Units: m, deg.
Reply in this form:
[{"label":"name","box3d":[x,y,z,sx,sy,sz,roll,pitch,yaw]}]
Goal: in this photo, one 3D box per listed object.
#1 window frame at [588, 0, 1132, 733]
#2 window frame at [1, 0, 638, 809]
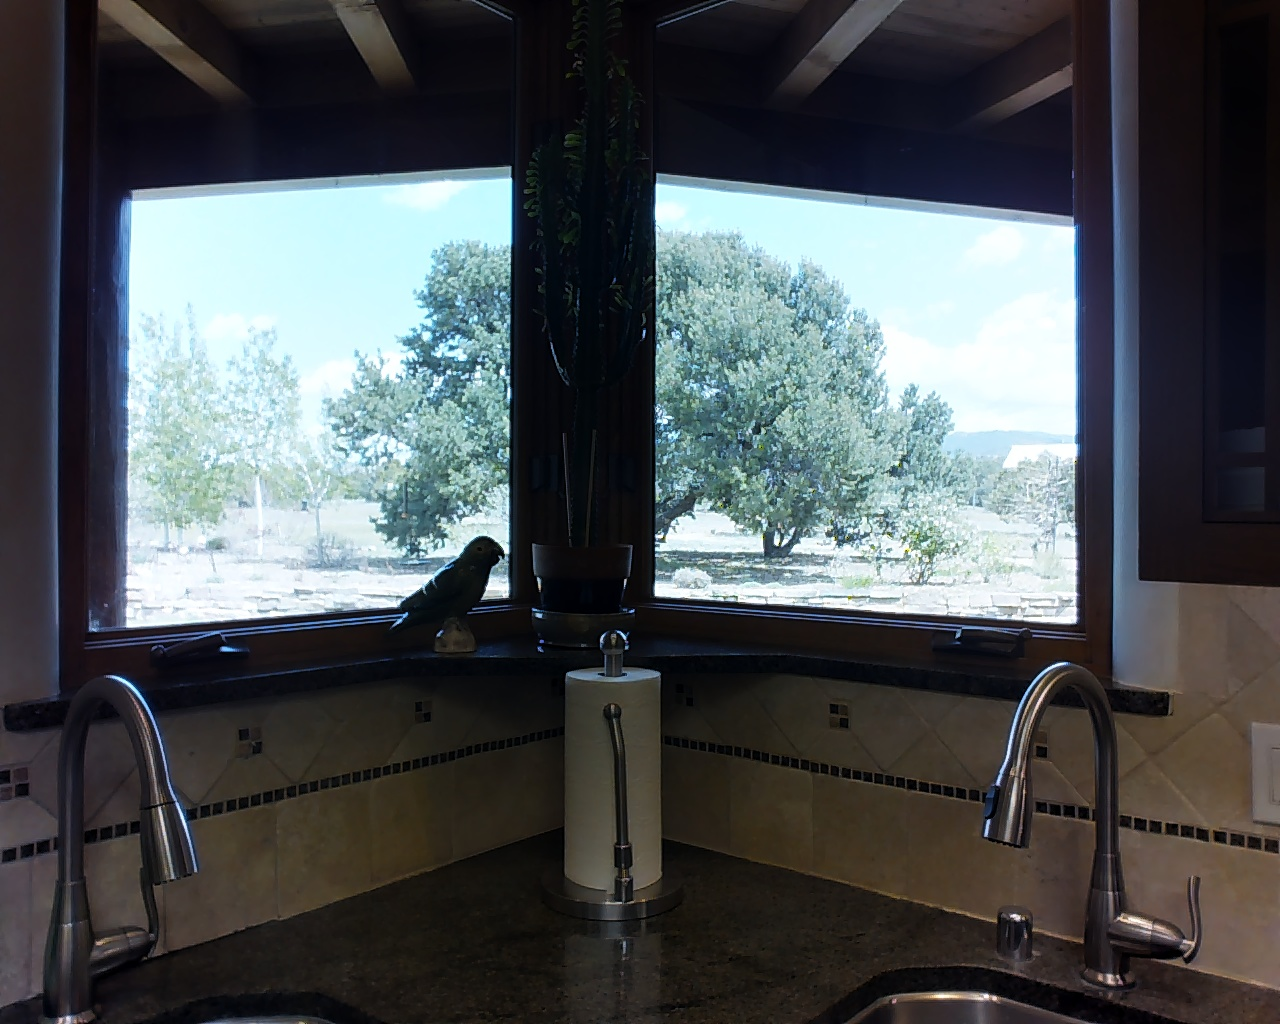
[{"label":"window frame","box3d":[0.290,-0.320,1.680,0.870,1.200,0.130,0,-1,39]},{"label":"window frame","box3d":[-0.350,-0.410,1.490,0.140,1.430,0.920,0,-1,39]}]
